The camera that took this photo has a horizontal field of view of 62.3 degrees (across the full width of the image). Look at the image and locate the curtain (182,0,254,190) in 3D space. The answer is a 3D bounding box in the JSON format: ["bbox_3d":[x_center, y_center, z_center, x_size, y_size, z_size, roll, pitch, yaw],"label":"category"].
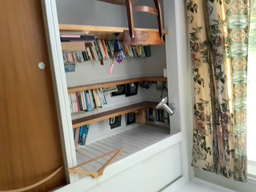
[{"bbox_3d":[0.820,-0.300,1.950,0.230,2.220,0.530,-14,-167,-42],"label":"curtain"}]
